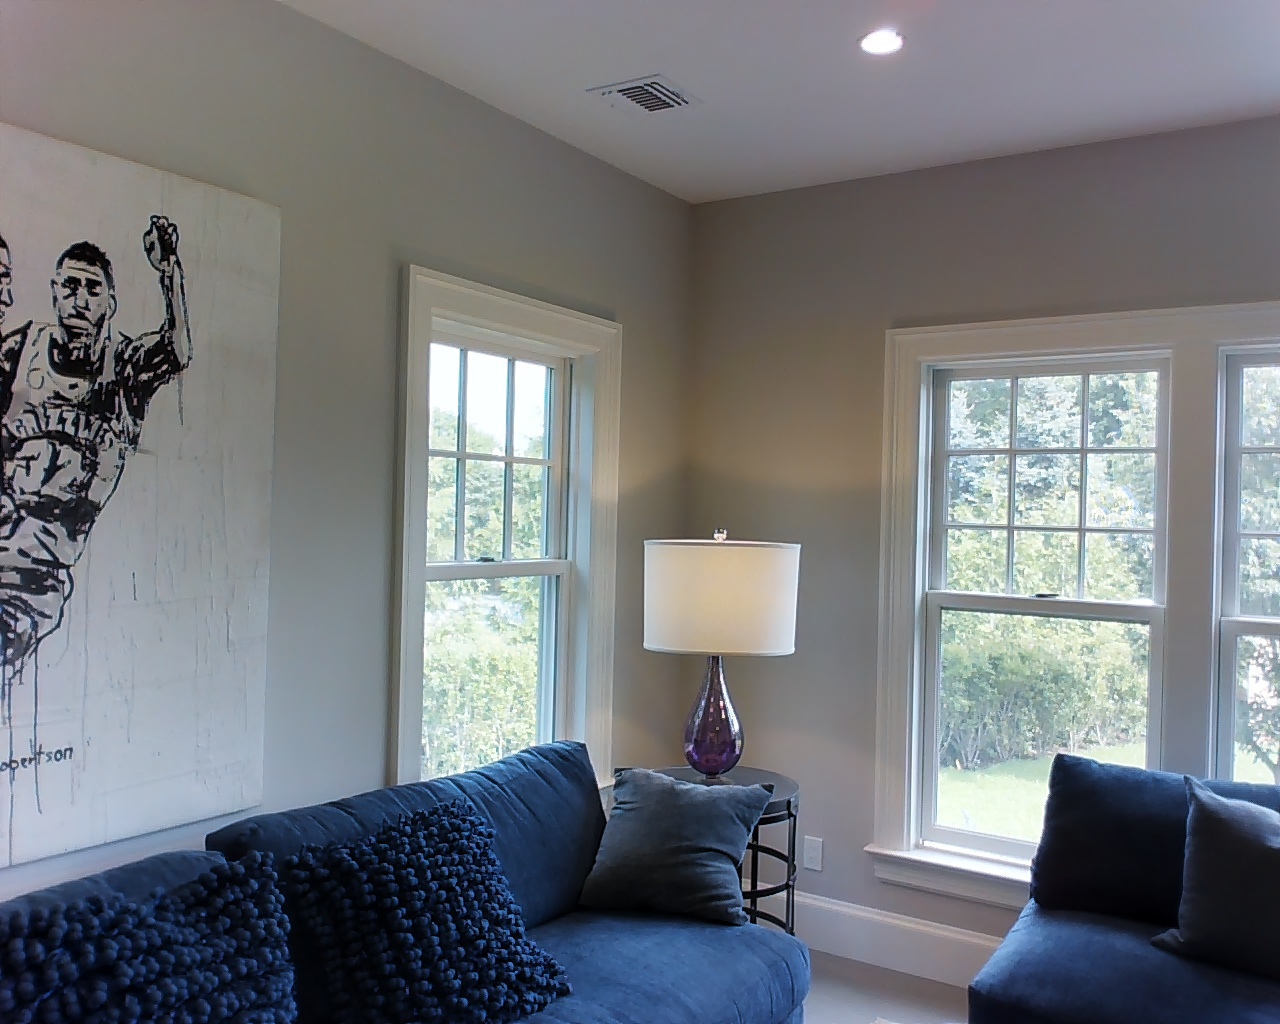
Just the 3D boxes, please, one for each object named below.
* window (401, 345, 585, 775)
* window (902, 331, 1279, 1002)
[{"bbox_3d":[-0.440,0.140,3.400,0.110,1.220,0.740,1,0,32],"label":"window"},{"bbox_3d":[2.070,0.440,3.010,2.640,1.900,0.210,1,0,33],"label":"window"}]
